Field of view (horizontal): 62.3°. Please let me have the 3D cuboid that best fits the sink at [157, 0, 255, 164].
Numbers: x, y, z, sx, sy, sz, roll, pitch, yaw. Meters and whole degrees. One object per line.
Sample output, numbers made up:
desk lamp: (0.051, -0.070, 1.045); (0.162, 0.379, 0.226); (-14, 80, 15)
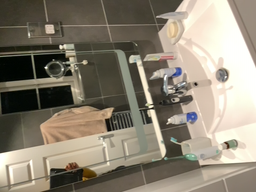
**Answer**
sink: (0.380, -0.090, 0.950); (0.450, 0.130, 0.730); (134, 125, -63)
